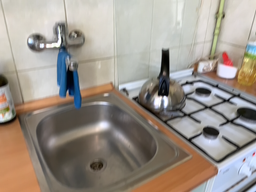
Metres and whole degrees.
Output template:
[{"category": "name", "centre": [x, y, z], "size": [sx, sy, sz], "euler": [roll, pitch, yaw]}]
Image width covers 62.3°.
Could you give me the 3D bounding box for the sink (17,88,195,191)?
[{"category": "sink", "centre": [-0.110, 0.180, 0.730], "size": [0.400, 0.160, 0.490], "euler": [-15, 32, -29]}]

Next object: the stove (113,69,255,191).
[{"category": "stove", "centre": [0.300, 0.090, 0.960], "size": [0.510, 0.160, 0.600], "euler": [-15, 32, -29]}]
